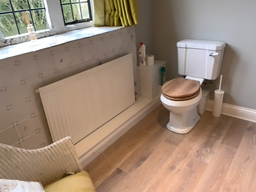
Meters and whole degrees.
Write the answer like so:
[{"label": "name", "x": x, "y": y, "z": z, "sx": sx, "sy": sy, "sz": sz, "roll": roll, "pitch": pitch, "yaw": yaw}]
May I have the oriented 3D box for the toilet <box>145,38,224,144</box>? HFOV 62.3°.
[{"label": "toilet", "x": 0.580, "y": -0.100, "z": 2.190, "sx": 0.480, "sy": 0.810, "sz": 0.710, "roll": 16, "pitch": 32, "yaw": 34}]
